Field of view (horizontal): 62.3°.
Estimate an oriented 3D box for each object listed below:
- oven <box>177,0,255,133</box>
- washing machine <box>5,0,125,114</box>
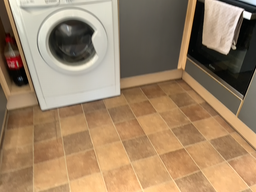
[{"bbox_3d":[0.800,-0.350,1.390,0.590,0.880,0.640,-9,37,-14],"label":"oven"},{"bbox_3d":[-0.420,-0.470,1.540,0.610,0.850,0.680,-11,38,-16],"label":"washing machine"}]
